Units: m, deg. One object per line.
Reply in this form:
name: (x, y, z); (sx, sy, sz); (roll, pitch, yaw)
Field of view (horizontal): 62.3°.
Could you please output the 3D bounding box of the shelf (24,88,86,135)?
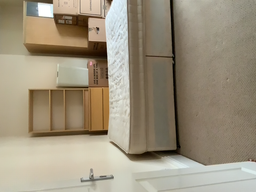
shelf: (-1.360, 0.270, 4.050); (0.310, 1.070, 0.830); (175, 94, -75)
